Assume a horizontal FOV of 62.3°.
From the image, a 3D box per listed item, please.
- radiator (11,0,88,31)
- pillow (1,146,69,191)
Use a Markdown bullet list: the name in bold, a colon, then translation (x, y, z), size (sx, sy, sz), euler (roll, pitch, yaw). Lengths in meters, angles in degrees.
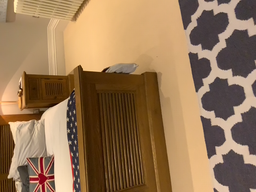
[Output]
- **radiator**: translation (-0.960, -1.160, 2.580), size (1.020, 0.730, 0.200), euler (-19, 74, 55)
- **pillow**: translation (-1.060, 0.960, 2.430), size (0.570, 0.230, 0.580), euler (-22, 81, 12)
